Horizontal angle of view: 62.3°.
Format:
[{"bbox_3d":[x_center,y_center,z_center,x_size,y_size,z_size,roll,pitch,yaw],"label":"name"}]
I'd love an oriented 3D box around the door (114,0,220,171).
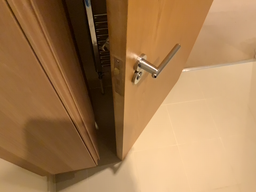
[{"bbox_3d":[0.230,-0.330,0.660,0.060,2.030,0.870,30,65,13],"label":"door"}]
